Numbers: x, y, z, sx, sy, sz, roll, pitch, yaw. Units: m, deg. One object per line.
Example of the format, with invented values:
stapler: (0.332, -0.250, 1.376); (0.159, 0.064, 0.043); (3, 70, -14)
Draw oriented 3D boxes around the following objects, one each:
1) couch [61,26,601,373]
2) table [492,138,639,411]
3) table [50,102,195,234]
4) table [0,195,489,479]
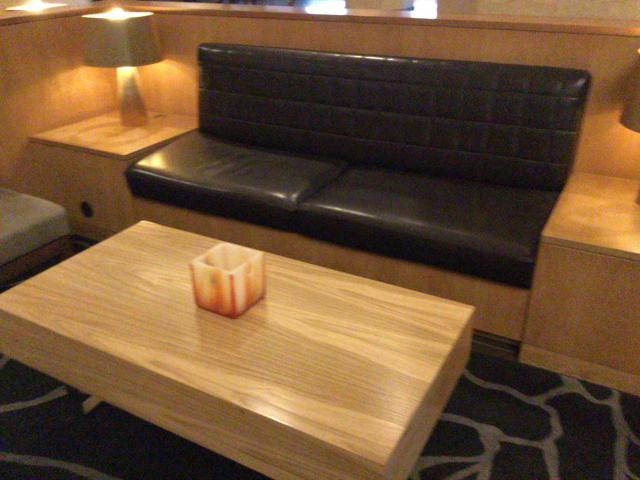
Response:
couch: (-0.020, -0.330, 2.510); (2.040, 0.970, 0.740); (13, 27, 24)
table: (1.100, 0.100, 1.980); (0.770, 0.660, 0.670); (13, 27, 24)
table: (-0.990, -0.400, 3.000); (0.310, 0.490, 0.630); (13, 27, 24)
table: (-0.310, 0.340, 1.700); (1.380, 0.530, 0.660); (13, 27, 24)
